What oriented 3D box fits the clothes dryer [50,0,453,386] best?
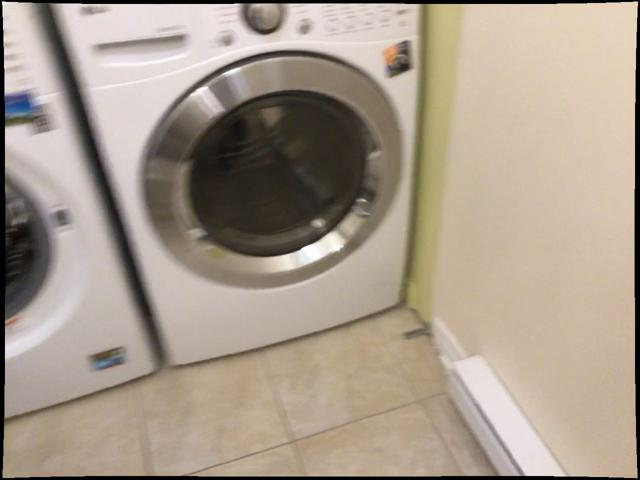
[{"bbox_3d":[-0.190,-0.290,1.560,0.709,0.971,0.740,-15,43,-13],"label":"clothes dryer"}]
